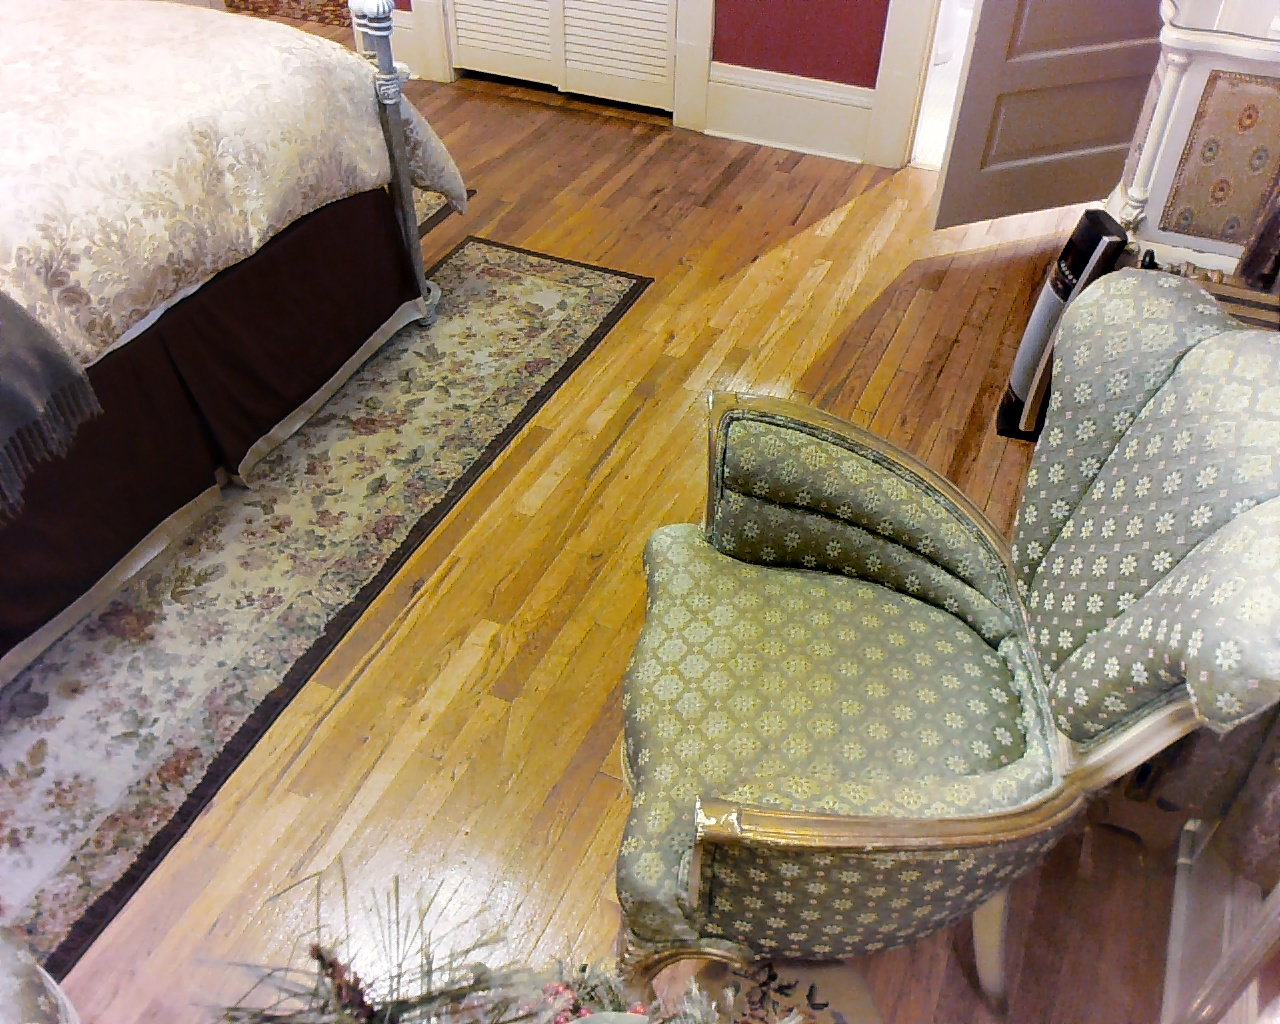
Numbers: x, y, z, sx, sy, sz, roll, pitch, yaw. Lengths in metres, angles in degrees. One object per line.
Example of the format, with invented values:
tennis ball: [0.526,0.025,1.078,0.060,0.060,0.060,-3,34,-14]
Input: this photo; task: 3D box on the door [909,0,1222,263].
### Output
door: [1.160,-1.590,2.480,0.750,2.110,0.090,-13,45,-14]
